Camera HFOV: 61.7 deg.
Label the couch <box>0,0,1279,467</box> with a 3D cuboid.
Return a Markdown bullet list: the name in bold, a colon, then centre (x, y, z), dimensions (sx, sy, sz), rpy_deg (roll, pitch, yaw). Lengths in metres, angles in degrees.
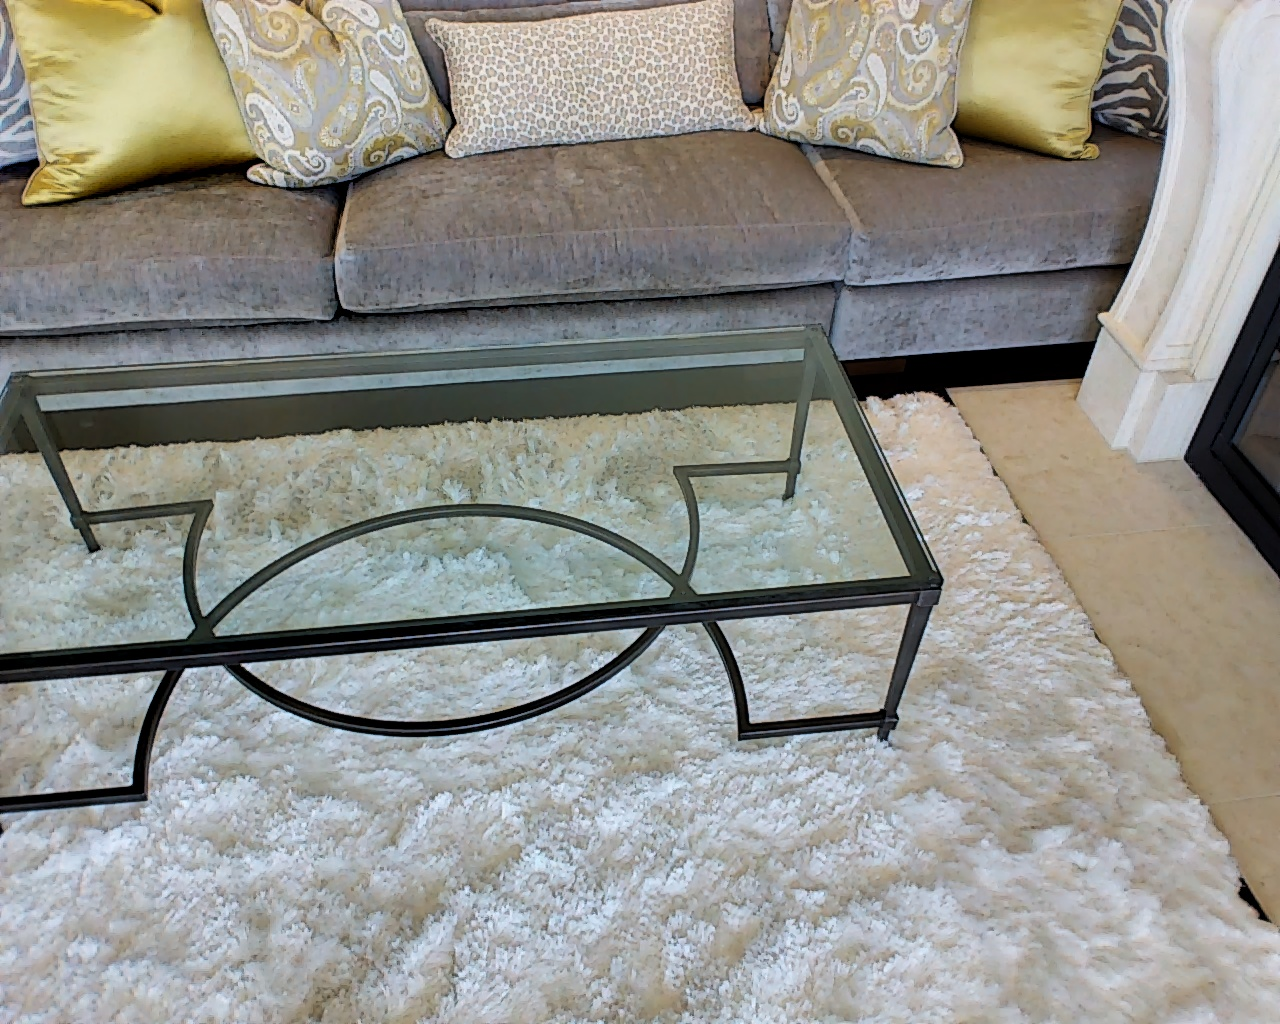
- **couch**: centre (-0.160, -0.860, 2.640), dimensions (3.280, 0.780, 1.130), rpy_deg (-4, 42, -6)

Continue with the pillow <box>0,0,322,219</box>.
- **pillow**: centre (-1.050, -0.970, 2.280), dimensions (0.620, 0.550, 0.320), rpy_deg (-5, 45, -30)

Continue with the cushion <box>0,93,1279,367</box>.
- **cushion**: centre (-0.140, -0.690, 2.510), dimensions (3.410, 0.220, 0.660), rpy_deg (-4, 42, -6)

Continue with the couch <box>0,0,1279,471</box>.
- **couch**: centre (-0.170, -0.920, 2.550), dimensions (3.440, 0.980, 1.120), rpy_deg (-4, 42, -6)

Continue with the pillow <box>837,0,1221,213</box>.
- **pillow**: centre (0.900, -1.120, 2.510), dimensions (0.630, 0.530, 0.300), rpy_deg (39, 37, 16)

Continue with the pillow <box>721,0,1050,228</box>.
- **pillow**: centre (0.580, -1.080, 2.500), dimensions (0.530, 0.560, 0.340), rpy_deg (29, 37, 5)

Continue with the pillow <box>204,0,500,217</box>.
- **pillow**: centre (-0.660, -0.990, 2.400), dimensions (0.500, 0.490, 0.320), rpy_deg (-2, 45, -32)
